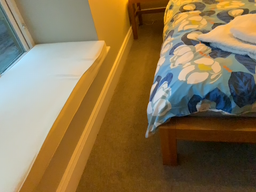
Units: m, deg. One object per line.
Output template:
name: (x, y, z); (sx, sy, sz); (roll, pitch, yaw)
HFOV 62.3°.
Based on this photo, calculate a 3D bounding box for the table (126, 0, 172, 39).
table: (0.280, -1.020, 2.550); (0.470, 0.430, 0.500); (-1, 42, 12)
